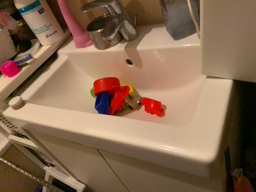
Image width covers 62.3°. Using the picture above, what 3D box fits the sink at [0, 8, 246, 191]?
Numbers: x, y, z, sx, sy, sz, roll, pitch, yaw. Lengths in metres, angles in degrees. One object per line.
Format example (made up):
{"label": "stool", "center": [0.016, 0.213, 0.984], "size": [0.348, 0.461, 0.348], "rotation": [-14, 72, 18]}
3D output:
{"label": "sink", "center": [-0.020, -0.030, 0.610], "size": [0.590, 0.170, 0.420], "rotation": [5, 48, 32]}
